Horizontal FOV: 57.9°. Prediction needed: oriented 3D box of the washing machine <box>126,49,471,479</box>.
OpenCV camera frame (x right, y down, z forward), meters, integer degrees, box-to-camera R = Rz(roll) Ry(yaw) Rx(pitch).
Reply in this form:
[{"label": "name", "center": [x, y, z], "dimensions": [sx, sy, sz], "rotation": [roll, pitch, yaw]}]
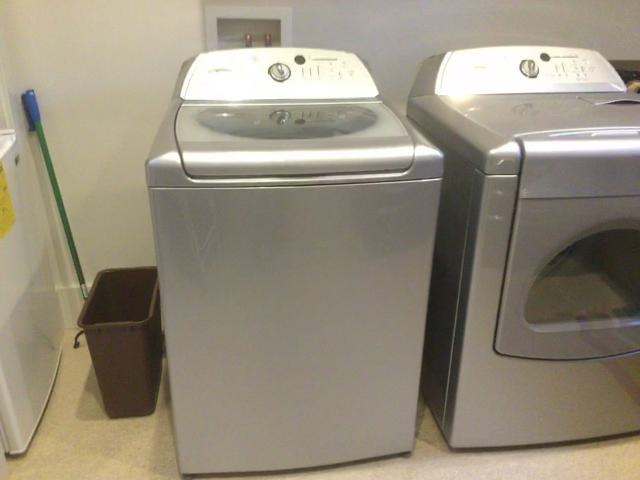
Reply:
[{"label": "washing machine", "center": [-0.100, 0.060, 1.680], "dimensions": [0.680, 1.090, 0.720], "rotation": [-3, 26, -10]}]
